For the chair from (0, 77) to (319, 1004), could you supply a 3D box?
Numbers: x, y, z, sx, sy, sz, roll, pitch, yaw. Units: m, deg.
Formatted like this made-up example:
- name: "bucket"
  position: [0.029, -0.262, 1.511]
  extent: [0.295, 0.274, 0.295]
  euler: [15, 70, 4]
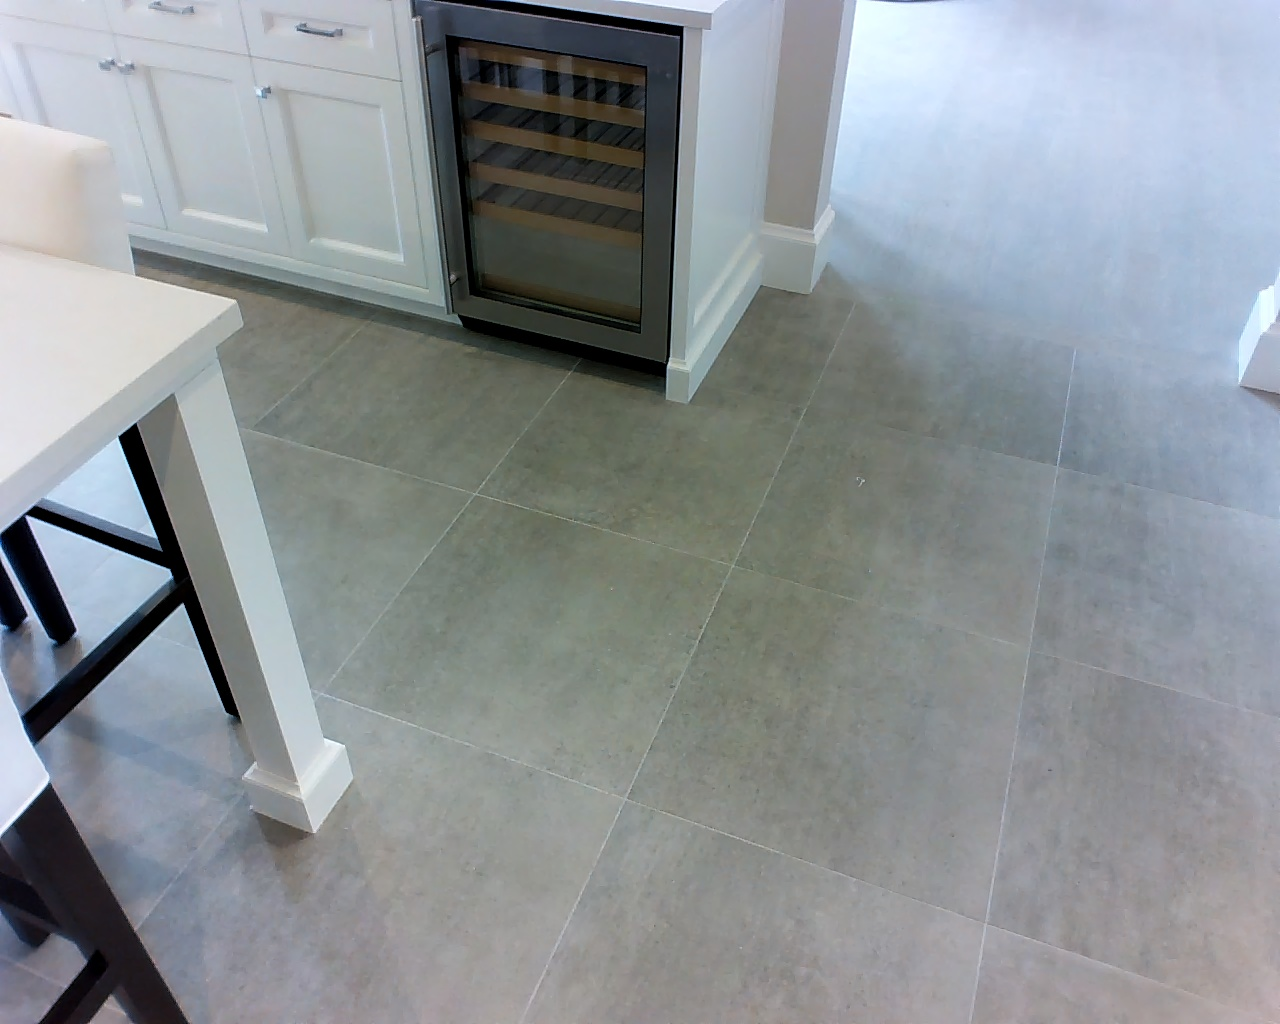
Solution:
- name: "chair"
  position: [-0.970, 0.040, 1.500]
  extent: [0.580, 1.080, 0.630]
  euler: [15, 43, 15]
